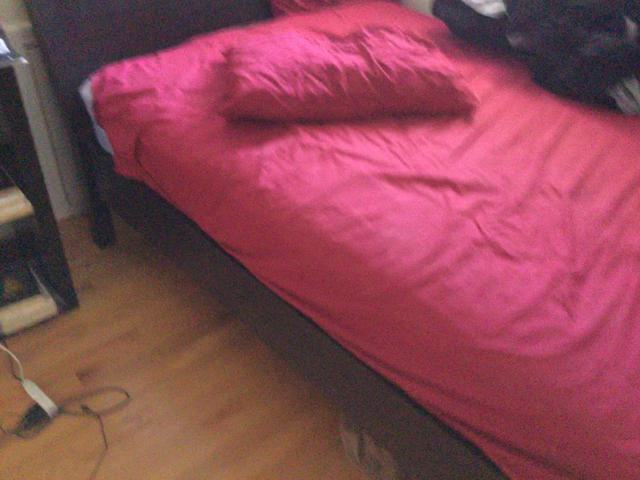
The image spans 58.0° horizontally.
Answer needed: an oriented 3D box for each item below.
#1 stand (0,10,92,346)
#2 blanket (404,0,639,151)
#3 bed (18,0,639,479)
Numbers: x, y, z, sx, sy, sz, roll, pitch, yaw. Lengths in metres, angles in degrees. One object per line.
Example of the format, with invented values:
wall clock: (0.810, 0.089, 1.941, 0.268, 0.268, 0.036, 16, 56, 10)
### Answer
stand: (-1.060, -0.170, 1.600, 0.510, 0.850, 0.530, -25, 46, -35)
blanket: (0.770, -0.700, 1.810, 0.470, 0.440, 0.840, -25, 46, -35)
bed: (0.390, -0.230, 1.670, 1.520, 1.140, 2.210, -25, 46, -35)
